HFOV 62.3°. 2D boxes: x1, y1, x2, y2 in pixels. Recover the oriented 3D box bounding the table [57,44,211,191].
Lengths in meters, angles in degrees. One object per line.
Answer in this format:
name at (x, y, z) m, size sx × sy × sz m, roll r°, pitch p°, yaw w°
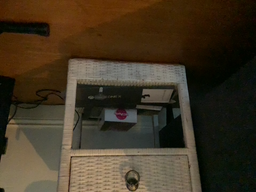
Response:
table at (-0.010, 0.170, 0.900) m, size 0.430 × 0.530 × 0.520 m, roll 2°, pitch 159°, yaw -7°
